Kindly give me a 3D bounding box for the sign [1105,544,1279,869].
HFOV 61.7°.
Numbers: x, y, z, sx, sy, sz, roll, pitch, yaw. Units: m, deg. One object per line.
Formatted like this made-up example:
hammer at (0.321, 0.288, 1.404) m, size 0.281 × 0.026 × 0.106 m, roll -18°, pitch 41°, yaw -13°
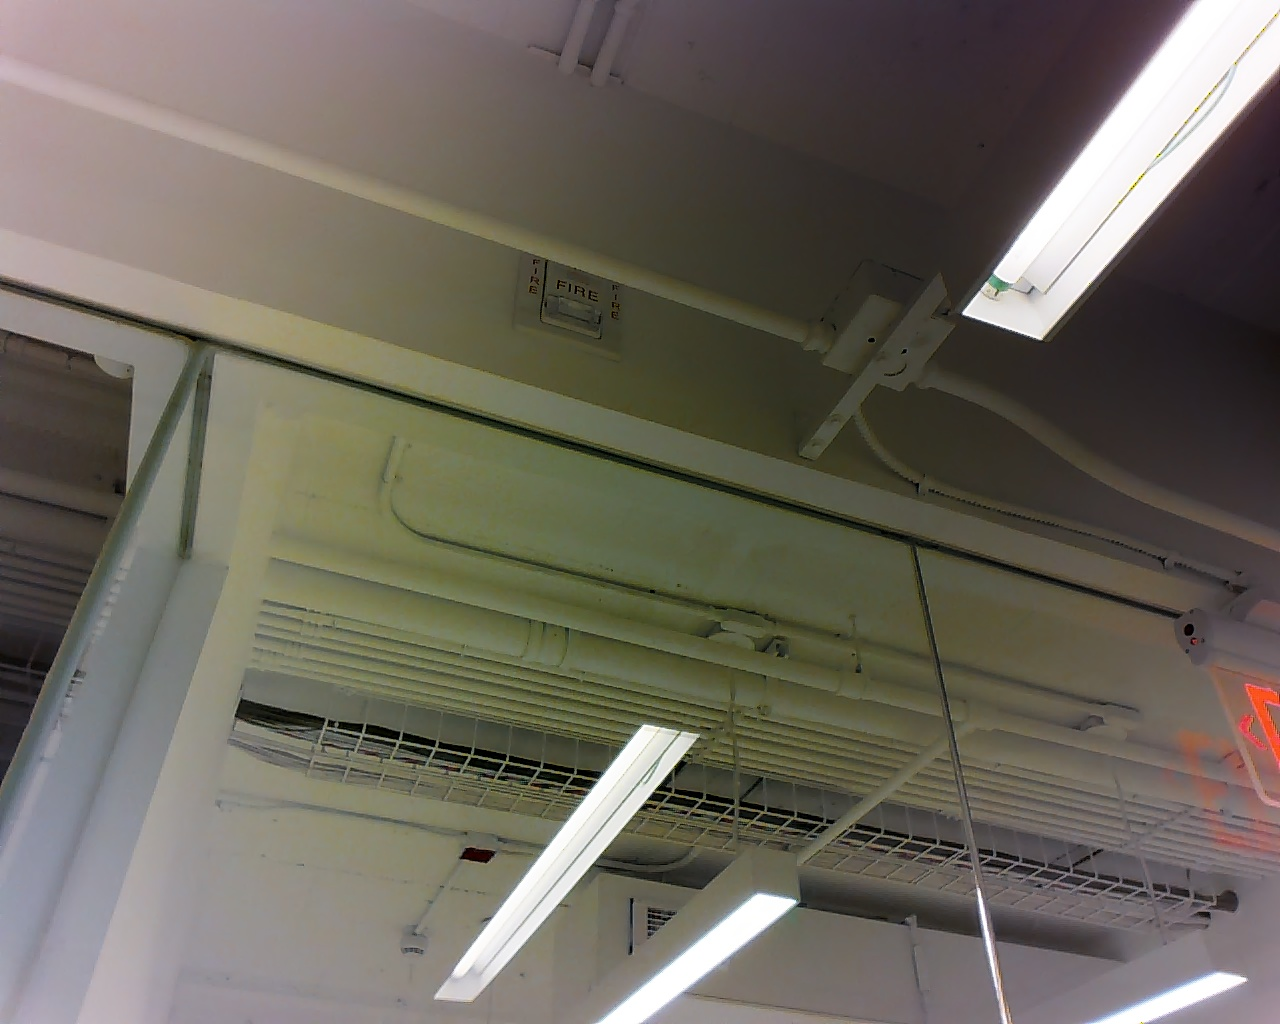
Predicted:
sign at (0.799, 0.250, 1.300) m, size 0.340 × 0.330 × 0.150 m, roll 15°, pitch -44°, yaw -15°
